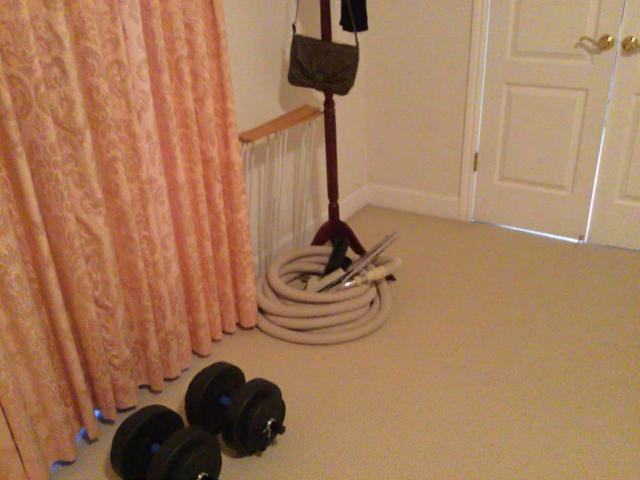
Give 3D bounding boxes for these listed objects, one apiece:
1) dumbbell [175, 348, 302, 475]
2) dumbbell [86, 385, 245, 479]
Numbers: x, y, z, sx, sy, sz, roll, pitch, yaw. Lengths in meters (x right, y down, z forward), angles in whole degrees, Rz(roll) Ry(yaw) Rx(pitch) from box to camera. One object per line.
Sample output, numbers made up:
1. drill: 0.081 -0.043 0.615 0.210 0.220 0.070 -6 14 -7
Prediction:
1. dumbbell: -0.230 0.490 1.690 0.270 0.210 0.220 8 25 25
2. dumbbell: -0.400 0.570 1.530 0.300 0.210 0.230 8 25 25
